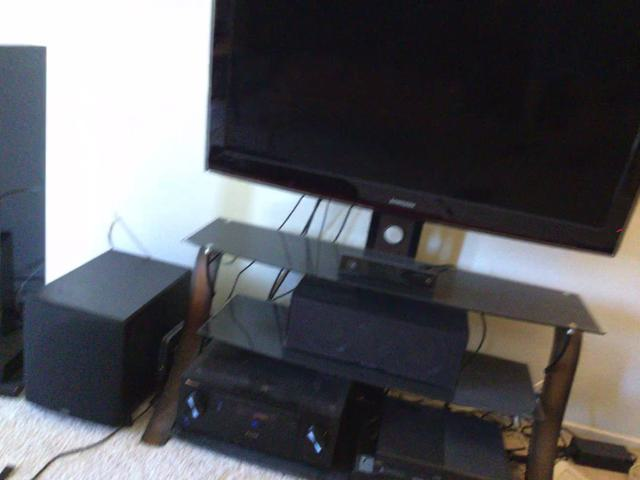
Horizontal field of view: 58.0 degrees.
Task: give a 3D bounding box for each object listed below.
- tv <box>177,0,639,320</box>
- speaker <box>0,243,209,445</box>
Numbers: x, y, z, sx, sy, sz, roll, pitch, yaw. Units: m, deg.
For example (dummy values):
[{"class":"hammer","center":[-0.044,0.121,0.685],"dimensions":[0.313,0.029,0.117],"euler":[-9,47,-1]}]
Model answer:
[{"class":"tv","center":[0.260,-0.340,1.510],"dimensions":[1.180,0.860,0.240],"euler":[9,12,9]},{"class":"speaker","center":[-0.620,0.270,1.700],"dimensions":[0.410,0.390,0.440],"euler":[9,12,9]}]
